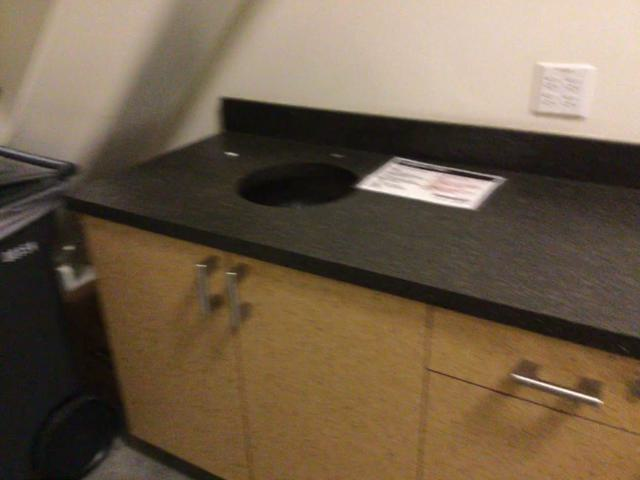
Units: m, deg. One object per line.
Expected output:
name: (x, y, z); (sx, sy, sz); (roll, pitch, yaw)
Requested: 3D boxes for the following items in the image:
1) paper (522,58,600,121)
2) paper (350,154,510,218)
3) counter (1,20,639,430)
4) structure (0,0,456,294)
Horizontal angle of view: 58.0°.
paper: (0.540, -0.340, 1.300); (0.140, 0.120, 0.030); (15, 29, 27)
paper: (0.270, -0.140, 1.400); (0.310, 0.020, 0.260); (15, 29, 27)
counter: (1.140, 0.090, 0.710); (3.830, 0.430, 0.660); (15, 29, 27)
structure: (-0.350, -0.630, 1.390); (1.300, 1.200, 0.310); (15, 29, 27)
